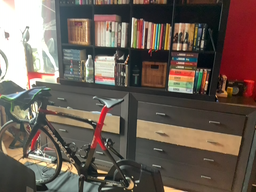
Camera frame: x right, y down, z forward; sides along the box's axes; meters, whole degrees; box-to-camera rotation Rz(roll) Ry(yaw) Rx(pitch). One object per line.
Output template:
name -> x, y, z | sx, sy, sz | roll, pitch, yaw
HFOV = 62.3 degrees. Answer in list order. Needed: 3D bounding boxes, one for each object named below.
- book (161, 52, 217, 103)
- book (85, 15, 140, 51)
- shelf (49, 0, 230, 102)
book -> 0.550, -0.190, 1.930 | 0.400, 0.360, 0.380 | 8, 17, 17
book -> -0.140, -0.600, 2.020 | 0.390, 0.290, 0.360 | 9, 18, 20
shelf -> 0.060, -0.830, 1.920 | 1.540, 1.530, 0.390 | 7, 17, 16
